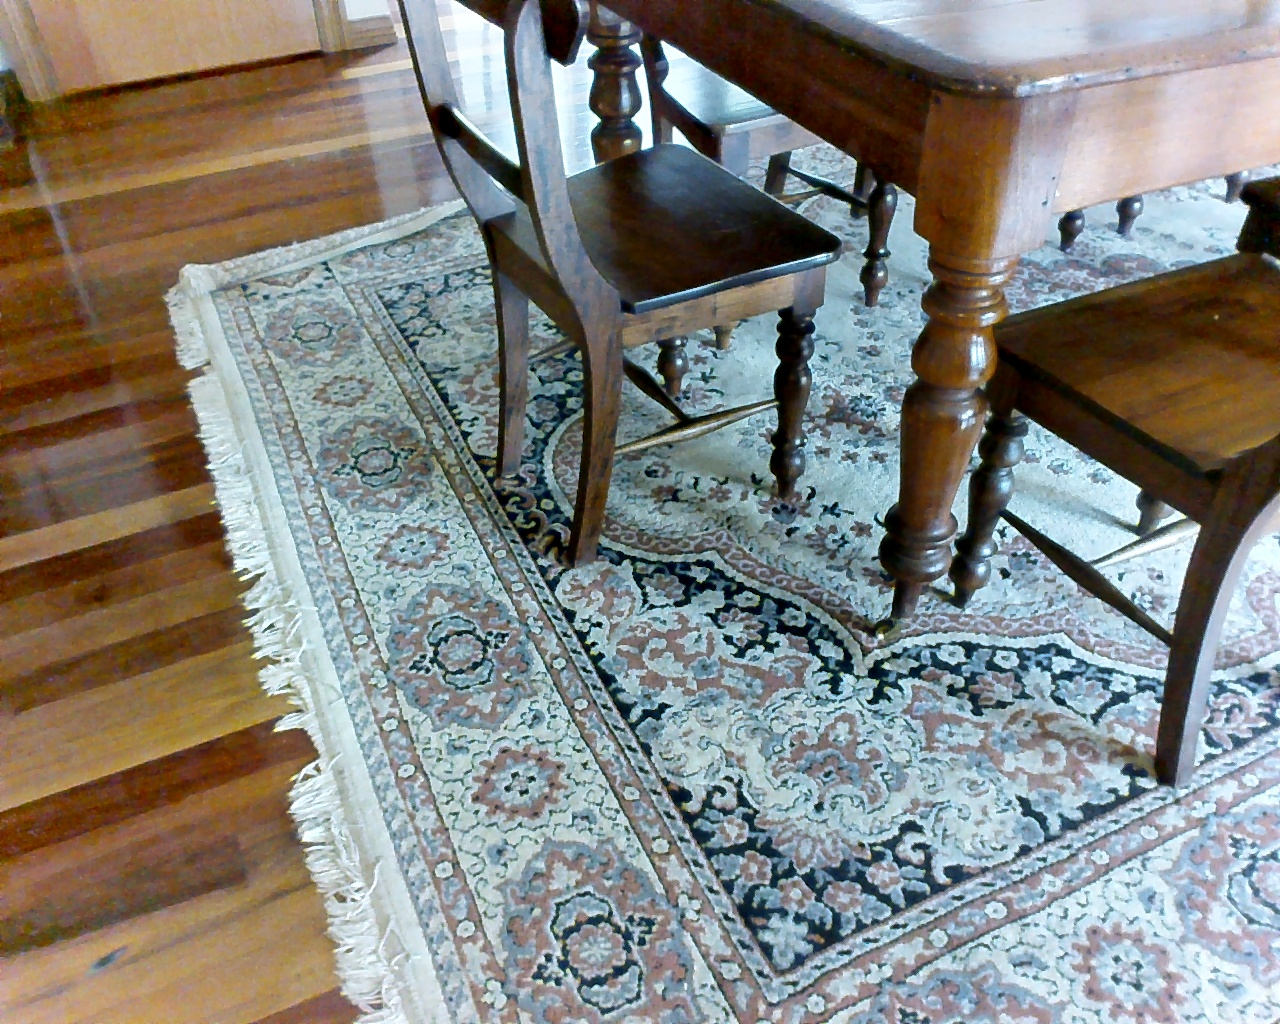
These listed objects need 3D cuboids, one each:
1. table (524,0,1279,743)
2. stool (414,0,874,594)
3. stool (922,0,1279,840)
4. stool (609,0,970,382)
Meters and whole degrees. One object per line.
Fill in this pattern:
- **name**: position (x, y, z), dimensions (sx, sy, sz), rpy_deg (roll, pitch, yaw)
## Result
- **table**: position (0.960, -0.640, 1.880), dimensions (1.990, 0.830, 1.190), rpy_deg (-18, 43, -18)
- **stool**: position (-0.010, -0.390, 1.560), dimensions (0.430, 0.850, 0.440), rpy_deg (-18, 43, -18)
- **stool**: position (0.700, -0.120, 1.230), dimensions (0.450, 0.850, 0.430), rpy_deg (-17, 42, -17)
- **stool**: position (0.250, -0.710, 2.020), dimensions (0.470, 0.720, 0.420), rpy_deg (-17, 43, -18)
